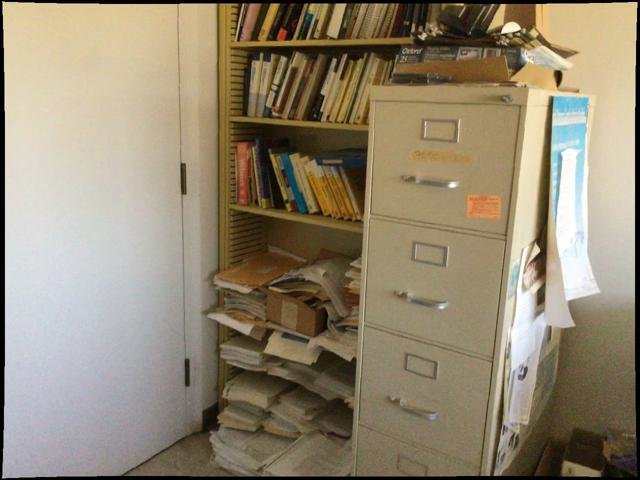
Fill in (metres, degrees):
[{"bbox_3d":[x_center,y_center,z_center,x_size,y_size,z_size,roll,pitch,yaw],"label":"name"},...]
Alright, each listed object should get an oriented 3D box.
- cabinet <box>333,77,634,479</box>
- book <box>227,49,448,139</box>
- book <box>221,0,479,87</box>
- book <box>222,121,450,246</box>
[{"bbox_3d":[0.499,0.321,1.780,0.539,1.544,0.819,11,17,31],"label":"cabinet"},{"bbox_3d":[0.030,-0.551,2.130,0.839,0.281,0.160,11,17,31],"label":"book"},{"bbox_3d":[0.080,-0.812,2.080,0.908,0.471,0.280,11,17,31],"label":"book"},{"bbox_3d":[0.030,-0.251,2.240,0.858,0.361,0.260,11,17,31],"label":"book"}]
